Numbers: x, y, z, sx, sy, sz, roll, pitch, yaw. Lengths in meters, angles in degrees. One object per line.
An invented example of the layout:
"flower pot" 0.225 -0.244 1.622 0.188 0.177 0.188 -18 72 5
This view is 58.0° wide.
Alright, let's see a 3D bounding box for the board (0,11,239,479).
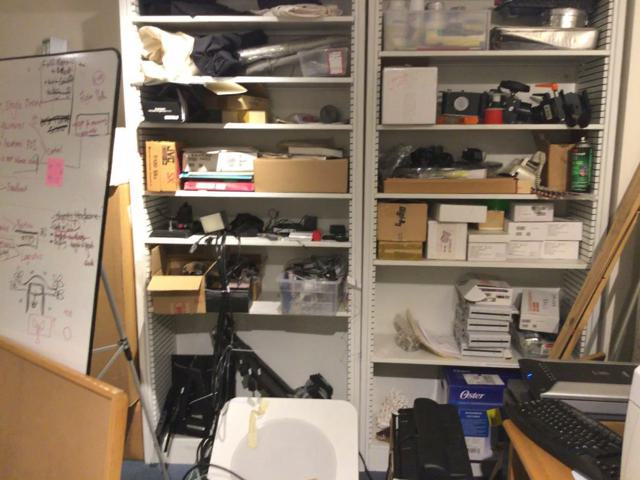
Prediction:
"board" -0.750 0.290 1.800 0.790 1.700 0.540 4 9 31
